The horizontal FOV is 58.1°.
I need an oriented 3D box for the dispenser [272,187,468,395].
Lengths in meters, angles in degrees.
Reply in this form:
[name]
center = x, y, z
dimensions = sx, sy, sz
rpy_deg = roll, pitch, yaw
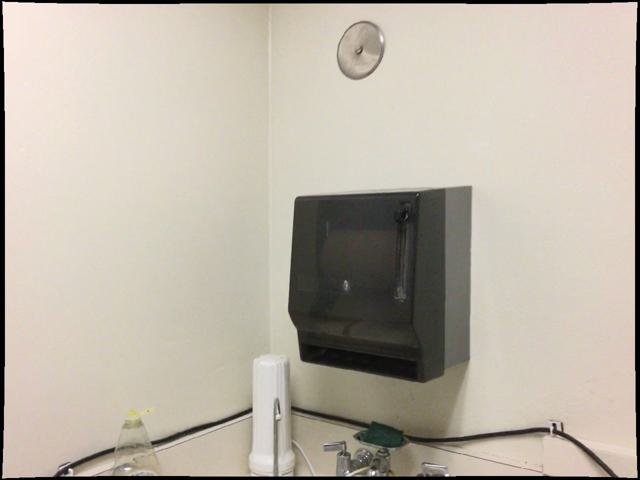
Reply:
[dispenser]
center = 0.110, 0.090, 1.260
dimensions = 0.339, 0.381, 0.260
rpy_deg = 1, 1, 37
